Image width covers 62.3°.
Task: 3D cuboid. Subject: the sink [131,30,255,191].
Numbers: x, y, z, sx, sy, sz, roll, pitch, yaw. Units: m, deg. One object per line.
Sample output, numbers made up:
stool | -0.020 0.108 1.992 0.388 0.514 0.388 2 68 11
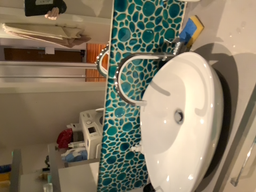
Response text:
sink | 0.190 0.100 0.810 0.380 0.130 0.610 -132 45 -55
